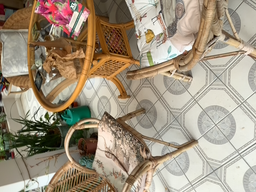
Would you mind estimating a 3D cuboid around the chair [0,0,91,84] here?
[{"bbox_3d":[-0.780,-0.520,1.900,0.680,0.550,0.720,-10,84,47],"label":"chair"}]

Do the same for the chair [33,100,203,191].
[{"bbox_3d":[-0.070,0.450,1.360,0.550,0.800,0.660,30,113,42],"label":"chair"}]

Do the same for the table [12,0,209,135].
[{"bbox_3d":[-0.190,-0.370,1.450,0.790,0.800,0.850,-53,55,34],"label":"table"}]
